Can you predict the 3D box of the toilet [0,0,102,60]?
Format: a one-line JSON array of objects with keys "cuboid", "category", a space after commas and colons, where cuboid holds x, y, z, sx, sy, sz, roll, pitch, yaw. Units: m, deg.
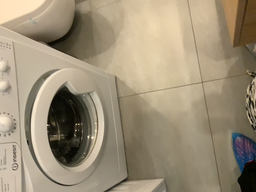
[{"cuboid": [-0.500, -0.510, 1.230, 0.500, 0.460, 0.380, -11, 80, 22], "category": "toilet"}]
